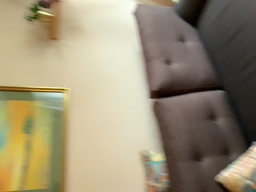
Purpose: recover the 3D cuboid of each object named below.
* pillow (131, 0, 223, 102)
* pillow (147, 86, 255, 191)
[{"bbox_3d":[0.360,-0.420,1.850,0.340,0.490,0.900,112,154,-54],"label":"pillow"},{"bbox_3d":[0.490,0.410,1.370,0.280,0.510,0.940,113,154,-55],"label":"pillow"}]
